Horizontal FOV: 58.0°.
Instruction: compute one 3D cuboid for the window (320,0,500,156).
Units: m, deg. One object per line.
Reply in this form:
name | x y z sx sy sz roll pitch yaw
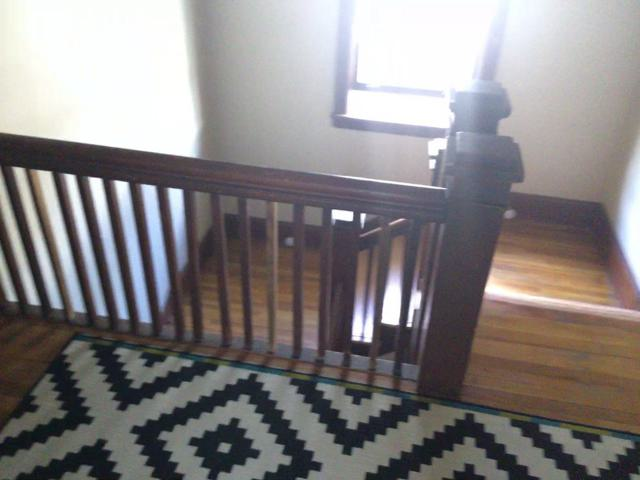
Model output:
window | 0.580 -1.460 3.810 1.100 1.730 0.400 3 27 9
